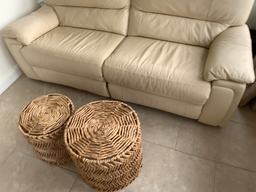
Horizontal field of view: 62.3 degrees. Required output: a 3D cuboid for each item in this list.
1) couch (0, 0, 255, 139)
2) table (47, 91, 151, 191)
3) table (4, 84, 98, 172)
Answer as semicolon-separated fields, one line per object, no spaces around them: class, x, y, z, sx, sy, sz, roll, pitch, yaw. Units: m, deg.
couch;-0.030;-0.590;1.890;2.070;0.970;0.990;15;51;18
table;-0.140;0.330;1.410;0.450;0.460;0.450;15;51;18
table;-0.520;0.230;1.560;0.390;0.410;0.390;15;51;18
